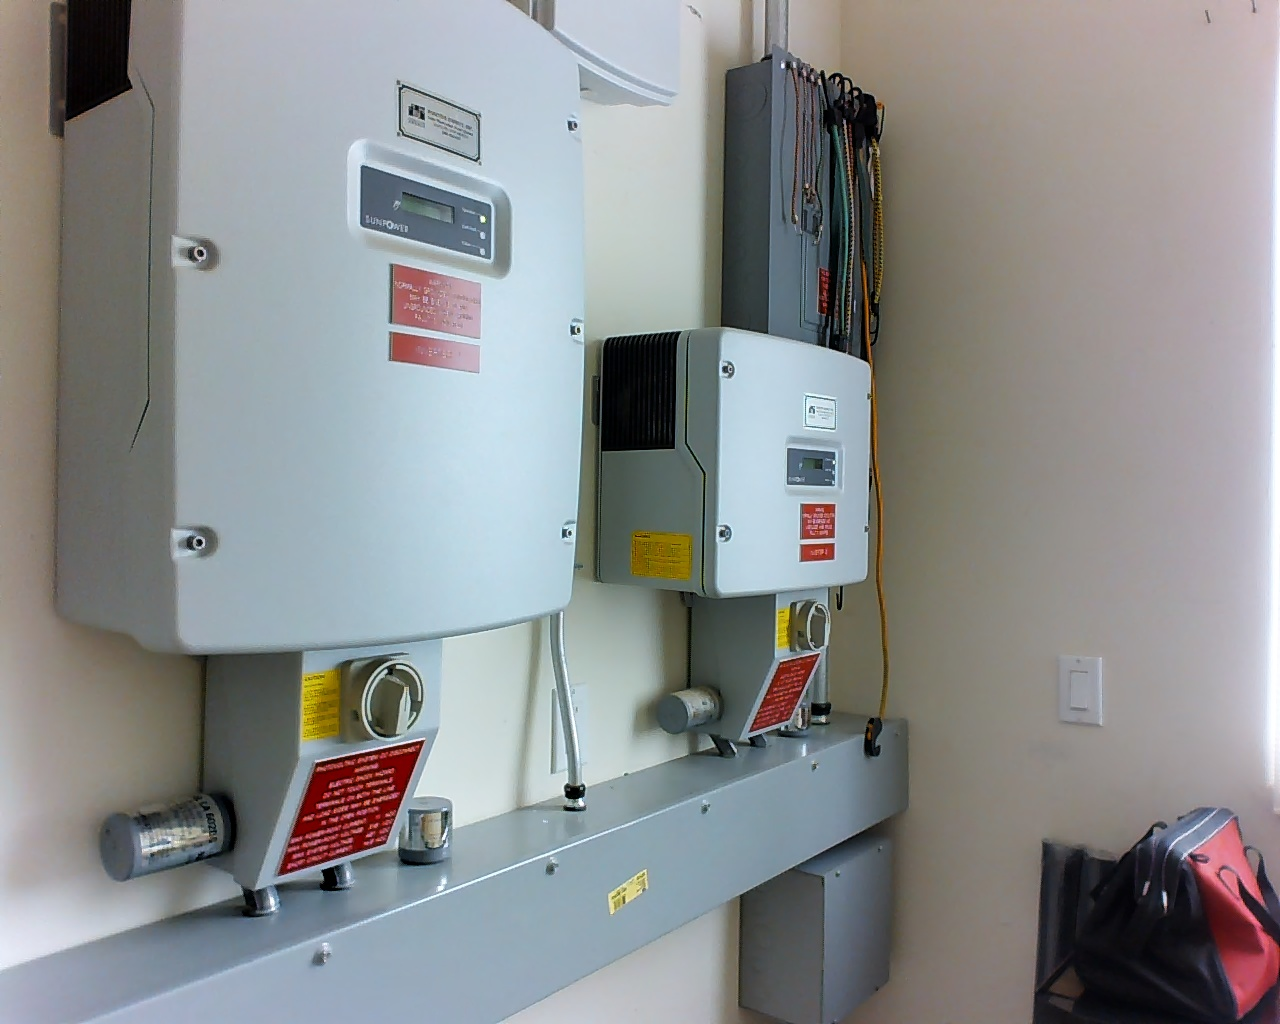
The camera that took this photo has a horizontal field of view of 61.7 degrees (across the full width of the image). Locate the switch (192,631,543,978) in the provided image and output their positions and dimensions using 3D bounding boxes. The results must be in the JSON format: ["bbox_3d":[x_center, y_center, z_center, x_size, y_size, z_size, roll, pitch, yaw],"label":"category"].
[{"bbox_3d":[-0.260,0.260,1.050,0.200,0.250,0.260,1,0,37],"label":"switch"}]

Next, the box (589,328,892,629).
[{"bbox_3d":[0.160,-0.040,1.560,0.250,0.370,0.420,1,0,37],"label":"box"}]

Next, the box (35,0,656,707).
[{"bbox_3d":[-0.240,-0.190,1.010,0.240,0.650,0.510,1,0,37],"label":"box"}]

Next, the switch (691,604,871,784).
[{"bbox_3d":[0.220,0.270,1.660,0.200,0.230,0.200,1,0,37],"label":"switch"}]
